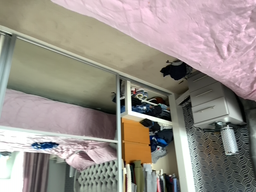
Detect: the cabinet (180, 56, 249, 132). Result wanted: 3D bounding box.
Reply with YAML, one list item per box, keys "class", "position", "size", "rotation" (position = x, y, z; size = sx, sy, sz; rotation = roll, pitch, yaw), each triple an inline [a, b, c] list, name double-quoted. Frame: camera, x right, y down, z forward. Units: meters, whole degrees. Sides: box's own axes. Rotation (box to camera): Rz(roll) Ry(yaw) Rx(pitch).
- class: "cabinet"
  position: [0.930, 0.010, 2.330]
  size: [0.450, 0.640, 0.430]
  rotation: [17, 150, -38]
